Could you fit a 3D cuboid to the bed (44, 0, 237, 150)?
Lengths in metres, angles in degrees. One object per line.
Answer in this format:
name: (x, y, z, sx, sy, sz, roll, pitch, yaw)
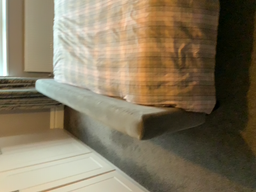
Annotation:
bed: (-0.090, -1.030, 1.730, 1.760, 0.590, 2.310, 15, 105, 50)
